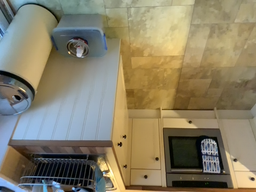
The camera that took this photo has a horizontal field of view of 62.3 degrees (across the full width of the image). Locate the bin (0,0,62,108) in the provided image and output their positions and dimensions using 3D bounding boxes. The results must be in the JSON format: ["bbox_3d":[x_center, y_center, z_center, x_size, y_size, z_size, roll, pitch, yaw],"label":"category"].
[{"bbox_3d":[-0.690,-0.290,1.360,0.300,0.650,0.350,0,144,3],"label":"bin"}]
